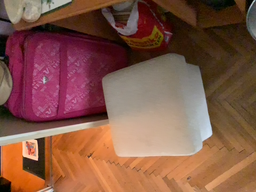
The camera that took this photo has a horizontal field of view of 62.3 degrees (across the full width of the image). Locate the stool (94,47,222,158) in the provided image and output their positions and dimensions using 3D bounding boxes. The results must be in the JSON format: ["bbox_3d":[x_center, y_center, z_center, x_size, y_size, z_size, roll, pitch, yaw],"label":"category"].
[{"bbox_3d":[0.170,0.050,1.110,0.440,0.450,0.420,-13,85,35],"label":"stool"}]

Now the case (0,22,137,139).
[{"bbox_3d":[-0.340,-0.100,1.370,0.400,0.770,0.520,8,97,35],"label":"case"}]
